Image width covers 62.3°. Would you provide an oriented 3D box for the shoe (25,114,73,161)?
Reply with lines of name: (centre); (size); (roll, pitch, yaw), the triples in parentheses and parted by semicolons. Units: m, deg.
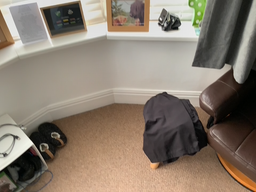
shoe: (-0.580, 0.300, 1.560); (0.220, 0.120, 0.240); (-36, 55, -27)
